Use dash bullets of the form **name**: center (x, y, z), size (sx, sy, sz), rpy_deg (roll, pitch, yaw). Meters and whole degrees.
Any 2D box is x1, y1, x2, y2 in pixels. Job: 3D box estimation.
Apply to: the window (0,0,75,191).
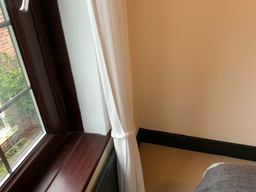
- **window**: center (-0.500, -0.220, 0.430), size (0.090, 1.590, 0.870), rpy_deg (8, 33, 16)
